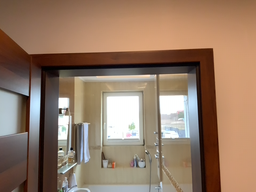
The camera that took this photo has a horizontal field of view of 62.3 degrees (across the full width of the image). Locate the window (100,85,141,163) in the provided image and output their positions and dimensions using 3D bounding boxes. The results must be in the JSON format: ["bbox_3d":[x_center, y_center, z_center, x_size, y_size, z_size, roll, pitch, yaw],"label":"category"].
[{"bbox_3d":[-0.150,0.550,4.260,0.770,1.510,0.200,-1,-5,3],"label":"window"}]
